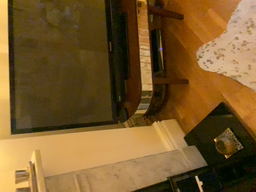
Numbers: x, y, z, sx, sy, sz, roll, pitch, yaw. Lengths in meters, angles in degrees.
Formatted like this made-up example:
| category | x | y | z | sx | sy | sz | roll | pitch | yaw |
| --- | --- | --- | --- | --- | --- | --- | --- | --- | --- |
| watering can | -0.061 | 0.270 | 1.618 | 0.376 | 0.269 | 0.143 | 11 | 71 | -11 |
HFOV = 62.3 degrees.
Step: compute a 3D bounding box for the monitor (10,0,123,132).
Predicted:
| category | x | y | z | sx | sy | sz | roll | pitch | yaw |
| --- | --- | --- | --- | --- | --- | --- | --- | --- | --- |
| monitor | -0.390 | -0.370 | 1.460 | 0.080 | 0.730 | 1.160 | -10 | 81 | 55 |
